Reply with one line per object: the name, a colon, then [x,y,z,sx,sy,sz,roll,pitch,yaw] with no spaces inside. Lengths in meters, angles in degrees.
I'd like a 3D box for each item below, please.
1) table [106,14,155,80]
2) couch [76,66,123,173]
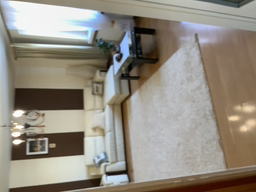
table: [-0.020,-0.850,4.040,1.160,0.500,0.760,146,121,-66]
couch: [-0.830,0.610,5.650,0.930,0.890,2.590,141,127,-64]
